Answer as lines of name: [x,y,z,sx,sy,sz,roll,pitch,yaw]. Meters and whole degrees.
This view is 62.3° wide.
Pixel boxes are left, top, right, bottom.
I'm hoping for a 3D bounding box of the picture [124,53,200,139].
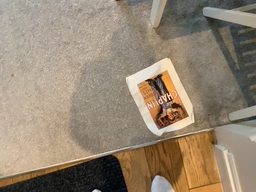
picture: [0.140,0.000,0.880,0.200,0.030,0.290,-27,89,-1]
